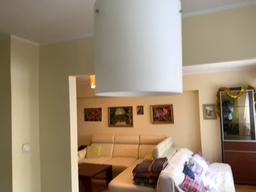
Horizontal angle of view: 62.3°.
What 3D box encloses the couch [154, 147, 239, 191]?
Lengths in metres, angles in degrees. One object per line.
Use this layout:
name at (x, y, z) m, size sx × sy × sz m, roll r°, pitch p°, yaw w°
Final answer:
couch at (1.270, 1.490, 3.780) m, size 1.080 × 0.720 × 2.010 m, roll -3°, pitch -3°, yaw 22°
